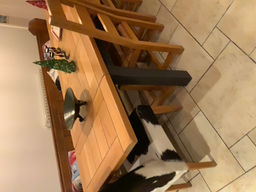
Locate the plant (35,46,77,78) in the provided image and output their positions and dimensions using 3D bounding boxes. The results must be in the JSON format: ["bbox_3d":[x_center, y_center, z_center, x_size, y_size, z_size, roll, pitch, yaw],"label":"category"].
[{"bbox_3d":[-0.580,-0.270,1.700,0.130,0.280,0.200,-62,40,39],"label":"plant"}]
